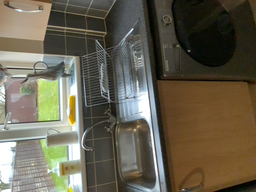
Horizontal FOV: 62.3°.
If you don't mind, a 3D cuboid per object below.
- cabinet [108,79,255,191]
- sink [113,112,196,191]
[{"bbox_3d":[0.410,0.260,1.460,0.580,0.900,0.610,-23,70,61],"label":"cabinet"},{"bbox_3d":[0.130,0.340,1.310,0.440,0.260,0.420,-23,70,61],"label":"sink"}]
